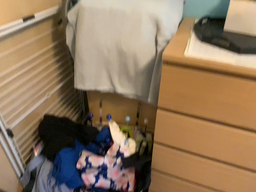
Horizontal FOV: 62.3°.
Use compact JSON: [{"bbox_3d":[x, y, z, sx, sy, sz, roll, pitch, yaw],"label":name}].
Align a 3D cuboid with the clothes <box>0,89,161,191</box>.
[{"bbox_3d":[-0.230,0.500,1.420,0.690,0.740,0.640,13,39,15],"label":"clothes"}]
